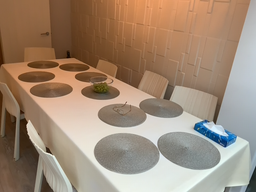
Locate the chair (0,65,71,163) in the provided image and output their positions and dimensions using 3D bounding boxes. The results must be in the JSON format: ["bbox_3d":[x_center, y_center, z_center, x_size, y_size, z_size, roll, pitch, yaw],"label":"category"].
[{"bbox_3d":[-1.030,0.140,2.270,0.610,0.750,0.570,-14,30,-37],"label":"chair"}]

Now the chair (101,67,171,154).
[{"bbox_3d":[0.070,0.130,2.500,0.570,0.780,0.490,-15,31,-38],"label":"chair"}]

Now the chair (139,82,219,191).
[{"bbox_3d":[0.490,0.360,2.070,0.460,0.780,0.570,19,27,29],"label":"chair"}]
